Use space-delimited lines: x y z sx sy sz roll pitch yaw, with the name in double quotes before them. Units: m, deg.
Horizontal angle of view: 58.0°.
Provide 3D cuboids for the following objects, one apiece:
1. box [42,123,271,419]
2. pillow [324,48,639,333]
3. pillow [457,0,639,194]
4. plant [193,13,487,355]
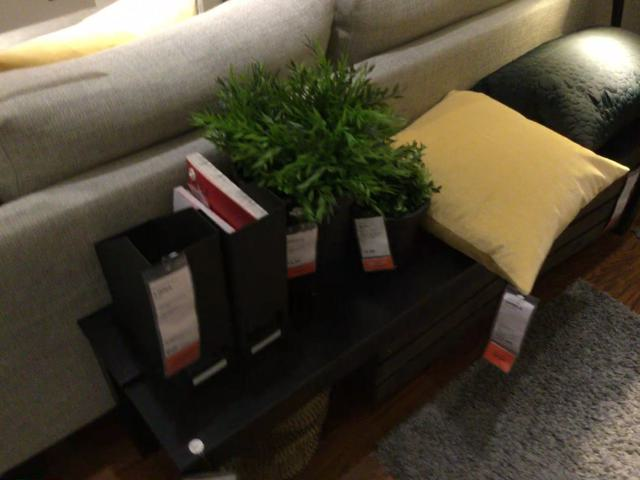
"box" -0.240 0.050 0.910 0.180 0.330 0.280 -31 55 -28
"pillow" 0.370 -0.150 1.220 0.540 0.180 0.470 -31 55 -28
"pillow" 0.720 -0.410 1.480 0.670 0.160 0.360 -31 55 -28
"plant" 0.020 -0.100 1.000 0.290 0.400 0.330 -31 55 -28
